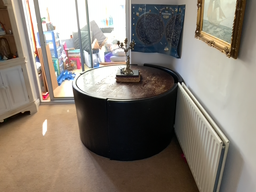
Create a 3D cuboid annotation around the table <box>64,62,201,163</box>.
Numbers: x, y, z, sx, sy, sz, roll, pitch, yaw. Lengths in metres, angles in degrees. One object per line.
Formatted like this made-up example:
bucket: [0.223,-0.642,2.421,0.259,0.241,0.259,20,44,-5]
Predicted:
table: [0.040,0.110,2.770,1.310,0.760,1.300,-1,25,0]
